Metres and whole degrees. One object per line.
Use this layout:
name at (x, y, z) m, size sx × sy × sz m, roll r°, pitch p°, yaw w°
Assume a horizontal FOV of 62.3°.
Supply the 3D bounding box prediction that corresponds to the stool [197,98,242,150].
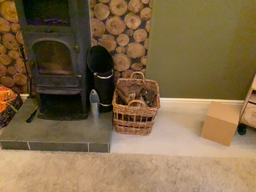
stool at (0.800, 0.230, 1.850) m, size 0.250 × 0.250 × 0.310 m, roll 21°, pitch 37°, yaw 24°
